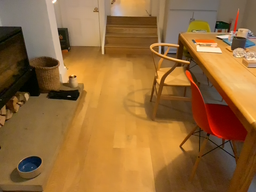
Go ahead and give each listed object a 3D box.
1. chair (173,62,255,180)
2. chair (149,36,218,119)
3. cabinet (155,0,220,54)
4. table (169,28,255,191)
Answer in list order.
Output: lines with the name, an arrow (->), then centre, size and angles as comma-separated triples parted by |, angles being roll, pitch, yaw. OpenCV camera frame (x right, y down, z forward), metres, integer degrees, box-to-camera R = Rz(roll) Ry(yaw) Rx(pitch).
chair -> 0.730, 0.190, 1.660 | 0.580, 0.760, 0.490 | 2, 30, 1
chair -> 0.550, -0.210, 2.340 | 0.540, 0.760, 0.500 | 1, 30, 0
cabinet -> 1.120, -1.720, 4.040 | 1.000, 1.720, 0.520 | 1, 30, -1
table -> 1.050, -0.050, 2.100 | 0.890, 0.740, 2.120 | 1, 30, 0
